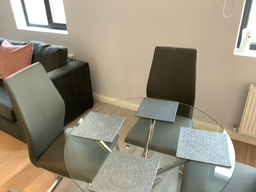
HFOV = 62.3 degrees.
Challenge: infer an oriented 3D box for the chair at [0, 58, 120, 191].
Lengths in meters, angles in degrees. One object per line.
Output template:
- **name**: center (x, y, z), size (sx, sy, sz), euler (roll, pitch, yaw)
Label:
- **chair**: center (-0.430, 0.310, 1.510), size (0.590, 1.010, 0.520), euler (5, 29, 13)
